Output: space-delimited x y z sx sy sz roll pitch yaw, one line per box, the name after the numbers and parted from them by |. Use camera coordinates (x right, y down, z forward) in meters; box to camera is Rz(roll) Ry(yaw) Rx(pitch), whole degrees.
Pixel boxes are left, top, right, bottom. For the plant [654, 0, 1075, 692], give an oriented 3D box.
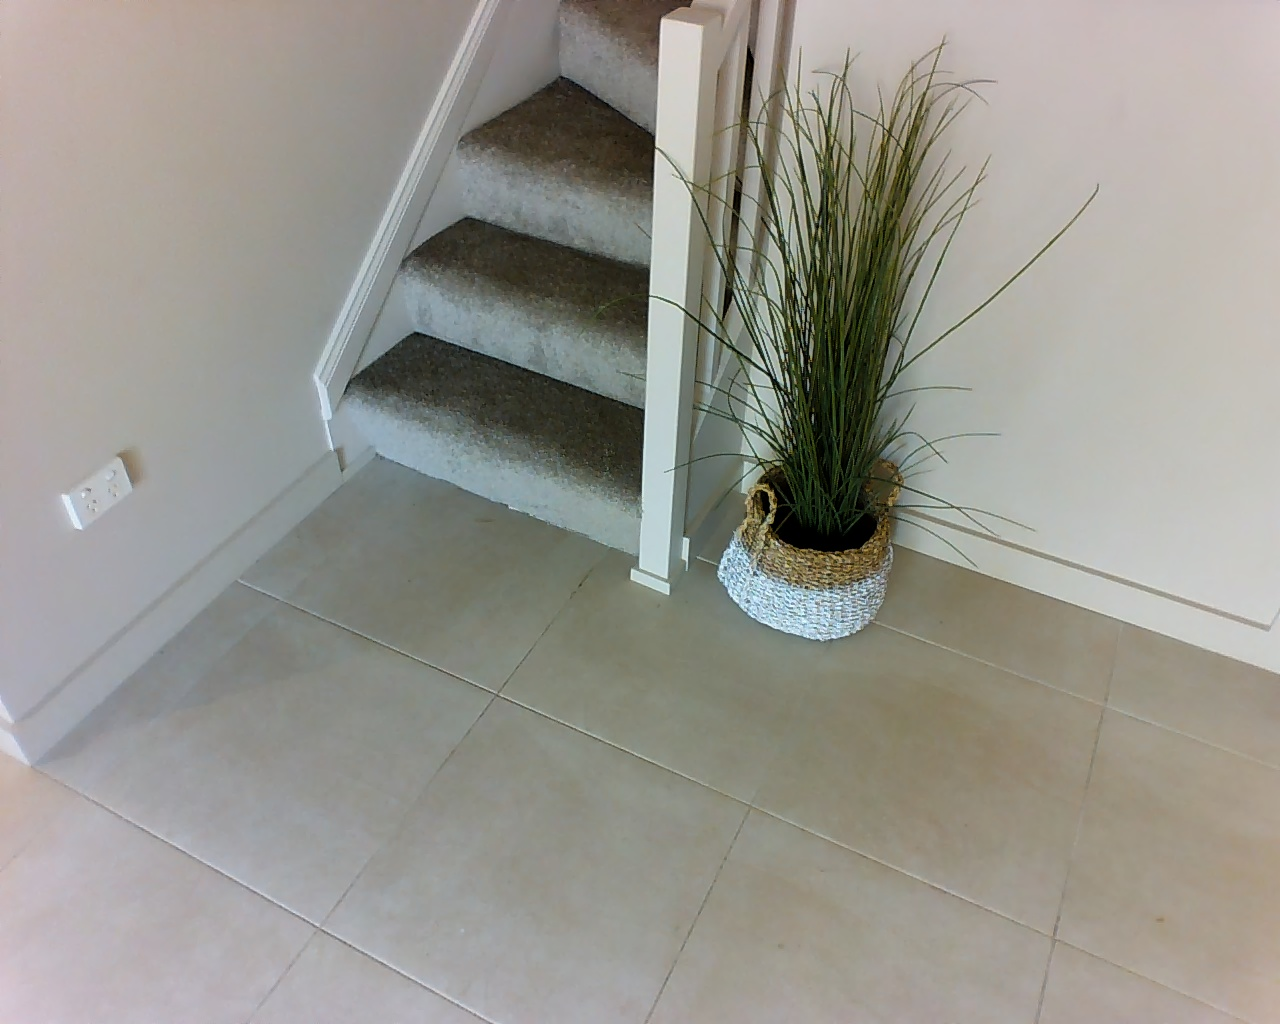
0.320 -0.260 1.820 0.430 1.120 0.380 19 45 18 | plant
